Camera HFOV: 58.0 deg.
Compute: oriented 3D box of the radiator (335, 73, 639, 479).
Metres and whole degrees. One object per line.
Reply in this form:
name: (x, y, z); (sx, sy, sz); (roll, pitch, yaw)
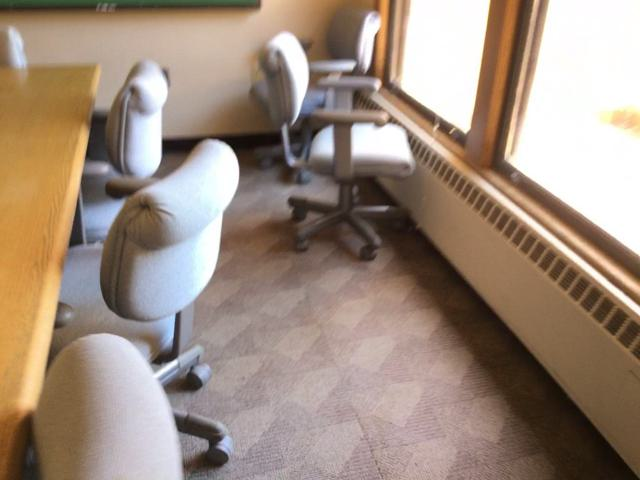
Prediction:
radiator: (0.520, -0.100, 2.240); (0.140, 0.700, 2.640); (-3, 24, -15)
